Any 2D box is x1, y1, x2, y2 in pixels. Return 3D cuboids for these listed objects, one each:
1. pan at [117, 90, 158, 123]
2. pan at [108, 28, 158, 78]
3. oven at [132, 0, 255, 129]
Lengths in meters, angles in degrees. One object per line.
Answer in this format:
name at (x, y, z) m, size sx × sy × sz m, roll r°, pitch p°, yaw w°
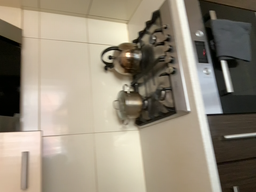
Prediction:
pan at (0.050, 0.070, 1.280) m, size 0.220 × 0.160 × 0.160 m, roll 153°, pitch 115°, yaw -65°
pan at (0.020, -0.250, 1.320) m, size 0.270 × 0.210 × 0.200 m, roll 148°, pitch 120°, yaw -64°
oven at (0.550, -0.140, 1.370) m, size 0.570 × 0.850 × 0.600 m, roll 146°, pitch 122°, yaw -64°
